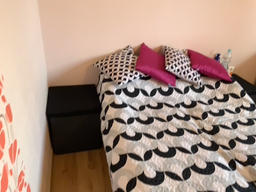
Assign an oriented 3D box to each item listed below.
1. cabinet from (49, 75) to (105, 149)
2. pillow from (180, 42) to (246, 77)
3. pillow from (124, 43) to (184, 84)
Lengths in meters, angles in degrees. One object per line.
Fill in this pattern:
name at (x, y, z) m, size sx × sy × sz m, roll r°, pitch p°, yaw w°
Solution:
cabinet at (-0.450, 0.120, 1.850) m, size 0.400 × 0.440 × 0.420 m, roll -6°, pitch 32°, yaw -17°
pillow at (0.760, -0.350, 1.960) m, size 0.350 × 0.150 × 0.430 m, roll -8°, pitch 33°, yaw -21°
pillow at (0.200, -0.290, 1.810) m, size 0.370 × 0.200 × 0.370 m, roll -6°, pitch 32°, yaw -18°
